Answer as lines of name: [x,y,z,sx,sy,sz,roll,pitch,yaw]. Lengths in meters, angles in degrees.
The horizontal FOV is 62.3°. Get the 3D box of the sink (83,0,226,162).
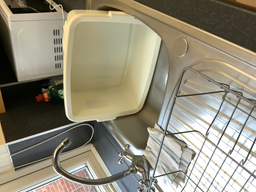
sink: [0.020,-0.110,0.770,0.450,0.180,0.470,44,138,39]

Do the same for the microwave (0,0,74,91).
microwave: [-0.500,-0.330,1.080,0.500,0.260,0.340,47,139,37]
